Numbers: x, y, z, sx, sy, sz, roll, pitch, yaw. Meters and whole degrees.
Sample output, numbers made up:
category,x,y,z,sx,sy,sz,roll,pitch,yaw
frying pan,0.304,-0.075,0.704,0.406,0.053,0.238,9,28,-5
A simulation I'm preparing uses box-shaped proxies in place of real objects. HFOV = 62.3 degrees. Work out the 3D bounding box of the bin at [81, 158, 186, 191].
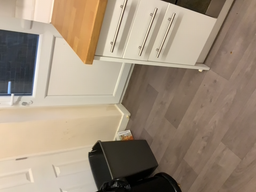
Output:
category,x,y,z,sx,sy,sz,roll,pitch,yaw
bin,0.040,0.800,1.600,0.410,0.690,0.330,49,129,42

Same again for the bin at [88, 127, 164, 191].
category,x,y,z,sx,sy,sz,roll,pitch,yaw
bin,-0.030,0.570,1.930,0.350,0.470,0.400,-58,47,37

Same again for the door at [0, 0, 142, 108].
category,x,y,z,sx,sy,sz,roll,pitch,yaw
door,-0.820,-0.270,1.550,0.070,1.970,0.830,49,129,42
